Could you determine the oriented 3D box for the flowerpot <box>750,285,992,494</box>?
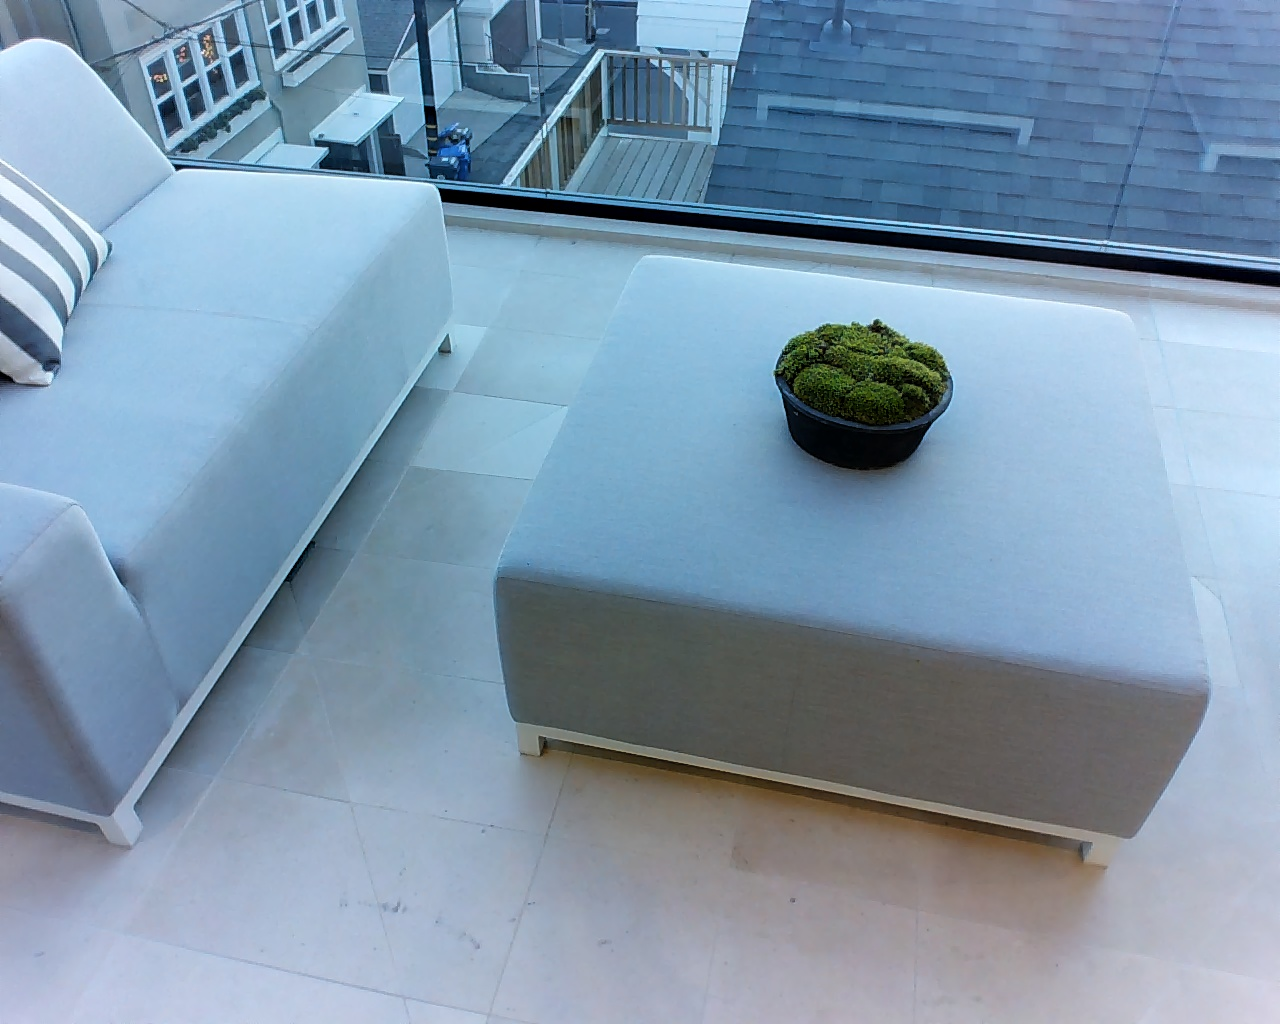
[{"bbox_3d":[0.390,-0.220,1.850,0.360,0.150,0.350,6,42,7],"label":"flowerpot"}]
